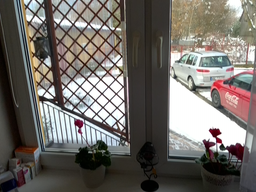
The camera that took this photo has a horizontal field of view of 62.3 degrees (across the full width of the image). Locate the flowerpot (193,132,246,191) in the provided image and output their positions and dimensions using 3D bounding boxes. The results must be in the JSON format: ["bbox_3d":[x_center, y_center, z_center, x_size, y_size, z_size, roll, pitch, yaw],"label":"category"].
[{"bbox_3d":[0.420,0.340,1.020,0.170,0.250,0.220,2,17,10],"label":"flowerpot"}]
